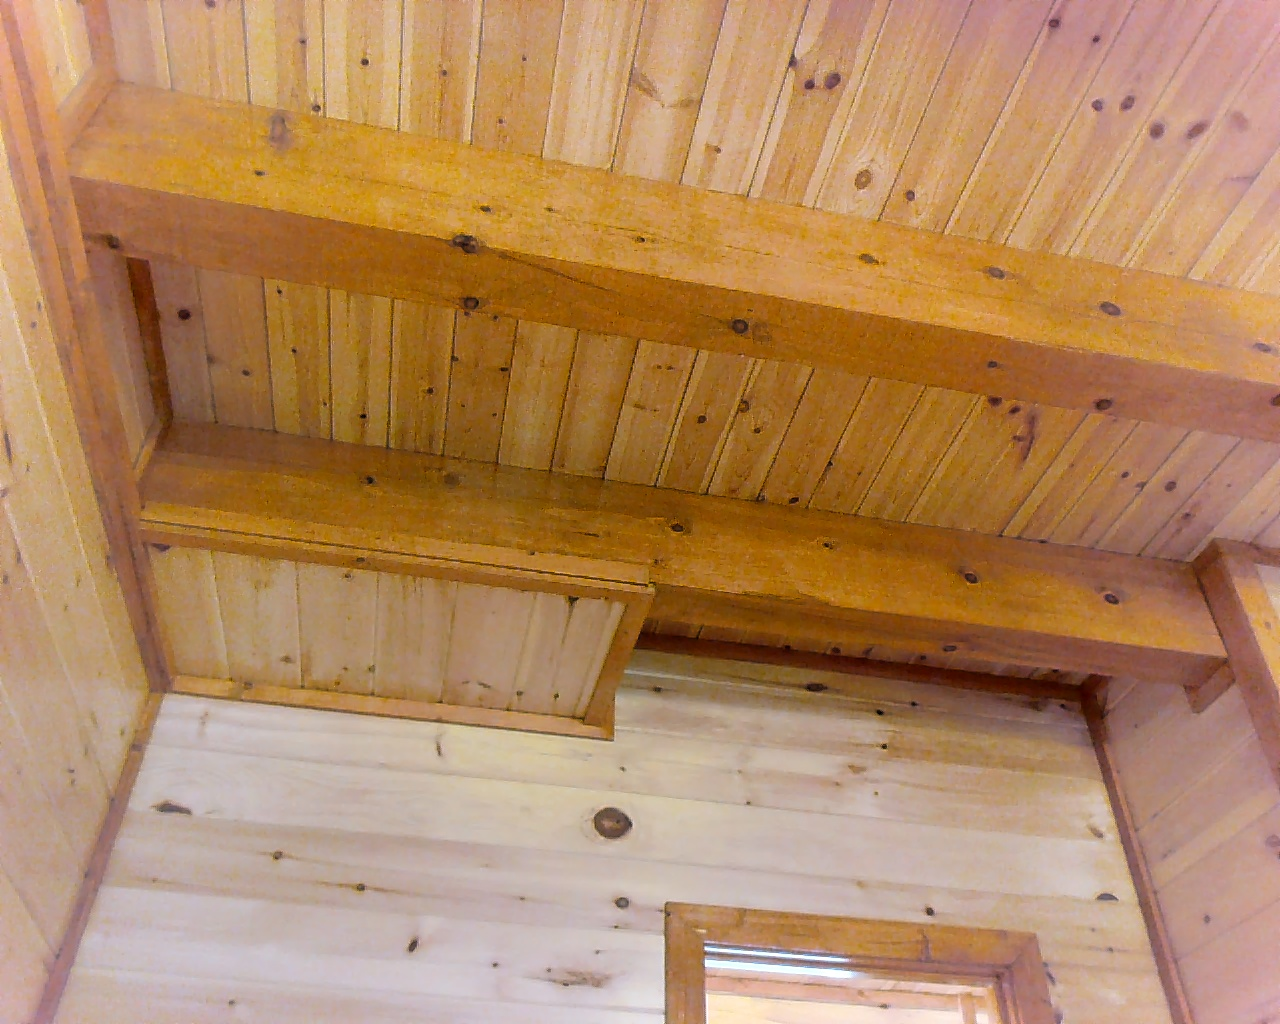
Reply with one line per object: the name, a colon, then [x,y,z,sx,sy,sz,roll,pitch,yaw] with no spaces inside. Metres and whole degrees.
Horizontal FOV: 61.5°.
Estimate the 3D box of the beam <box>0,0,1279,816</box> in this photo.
beam: [0.910,-0.160,2.230,3.820,0.390,2.250,8,-42,-8]
